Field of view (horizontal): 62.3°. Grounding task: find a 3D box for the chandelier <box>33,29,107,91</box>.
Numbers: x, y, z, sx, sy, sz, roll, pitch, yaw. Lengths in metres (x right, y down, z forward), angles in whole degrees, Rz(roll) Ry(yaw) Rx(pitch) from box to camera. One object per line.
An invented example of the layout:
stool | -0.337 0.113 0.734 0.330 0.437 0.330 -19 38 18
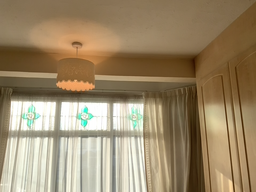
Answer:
chandelier | -0.490 -0.280 1.850 0.440 0.340 0.410 -8 165 31
